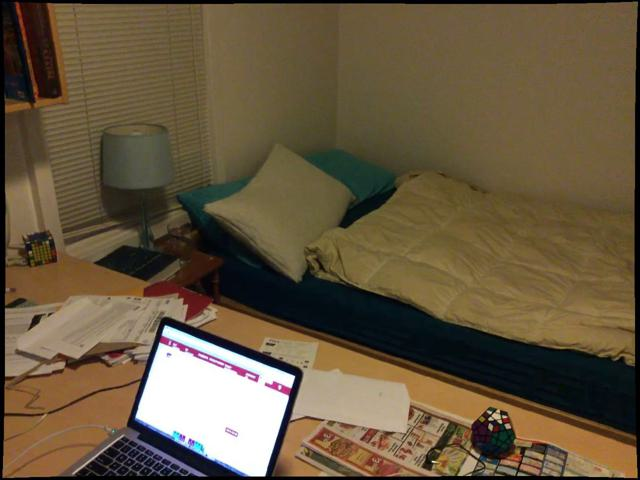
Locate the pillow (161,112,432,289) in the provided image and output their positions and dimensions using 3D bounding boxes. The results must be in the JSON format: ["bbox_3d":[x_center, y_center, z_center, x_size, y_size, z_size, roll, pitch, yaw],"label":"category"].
[{"bbox_3d":[-0.010,-0.280,2.690,0.580,0.300,1.400,15,28,26],"label":"pillow"}]
